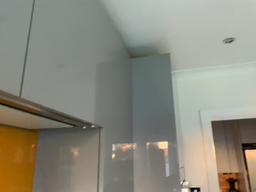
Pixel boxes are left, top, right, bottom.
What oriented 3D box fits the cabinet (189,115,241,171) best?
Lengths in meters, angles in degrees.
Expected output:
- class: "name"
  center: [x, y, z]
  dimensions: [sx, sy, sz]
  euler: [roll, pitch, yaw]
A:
- class: "cabinet"
  center: [1.330, 0.750, 3.330]
  dimensions: [0.620, 0.780, 0.390]
  euler: [-7, -17, 18]
